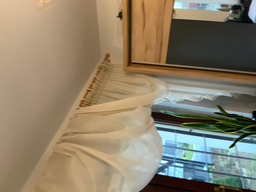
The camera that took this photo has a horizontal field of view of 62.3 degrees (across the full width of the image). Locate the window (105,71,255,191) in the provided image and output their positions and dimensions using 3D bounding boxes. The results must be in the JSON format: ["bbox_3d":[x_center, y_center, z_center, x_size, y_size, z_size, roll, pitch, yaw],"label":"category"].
[{"bbox_3d":[0.570,0.590,1.530,1.730,1.310,0.450,-74,-11,-45],"label":"window"}]
